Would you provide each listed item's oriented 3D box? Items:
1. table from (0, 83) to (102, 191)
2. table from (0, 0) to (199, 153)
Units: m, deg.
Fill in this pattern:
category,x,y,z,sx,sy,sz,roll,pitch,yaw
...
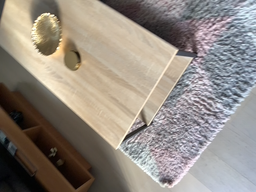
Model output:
category,x,y,z,sx,sy,sz,roll,pitch,yaw
table,-0.820,0.410,1.710,1.210,0.310,0.420,36,113,19
table,-0.220,-0.270,1.210,1.000,0.430,0.530,37,114,19
